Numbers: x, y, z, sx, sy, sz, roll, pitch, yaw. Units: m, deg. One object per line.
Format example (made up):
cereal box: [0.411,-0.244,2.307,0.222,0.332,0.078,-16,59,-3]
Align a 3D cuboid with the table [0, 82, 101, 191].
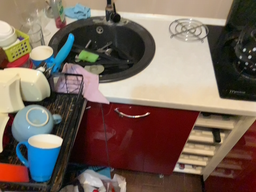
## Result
table: [-0.380,0.420,1.030,0.350,0.890,0.450,7,50,3]

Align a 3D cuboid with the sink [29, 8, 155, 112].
sink: [-0.130,-0.210,1.080,0.490,0.180,0.520,7,50,3]
